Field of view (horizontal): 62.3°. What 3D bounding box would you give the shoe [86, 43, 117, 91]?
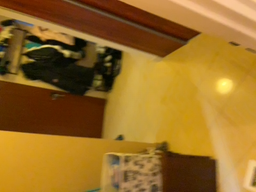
[{"bbox_3d":[-0.550,-0.570,4.350,0.360,0.420,0.860,-9,73,63],"label":"shoe"}]
